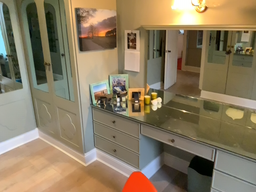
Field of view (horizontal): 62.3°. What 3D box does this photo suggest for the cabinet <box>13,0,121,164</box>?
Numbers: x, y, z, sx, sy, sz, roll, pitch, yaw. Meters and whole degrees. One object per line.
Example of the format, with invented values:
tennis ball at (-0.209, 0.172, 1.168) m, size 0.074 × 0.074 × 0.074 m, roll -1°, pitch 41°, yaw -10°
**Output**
cabinet at (-0.740, -0.620, 2.620) m, size 1.050 × 2.630 × 0.650 m, roll 14°, pitch 25°, yaw 37°
